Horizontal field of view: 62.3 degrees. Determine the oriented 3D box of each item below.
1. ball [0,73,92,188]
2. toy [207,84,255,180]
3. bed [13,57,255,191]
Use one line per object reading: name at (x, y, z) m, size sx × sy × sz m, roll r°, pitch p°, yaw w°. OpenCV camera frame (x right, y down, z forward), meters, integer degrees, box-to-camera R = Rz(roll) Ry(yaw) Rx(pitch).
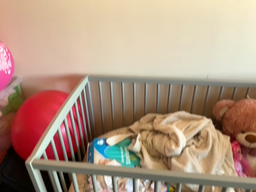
ball at (-0.470, 0.180, 1.240) m, size 0.360 × 0.470 × 0.430 m, roll 3°, pitch 32°, yaw 7°
toy at (0.700, 0.190, 1.110) m, size 0.430 × 0.400 × 0.290 m, roll 3°, pitch 32°, yaw 7°
bed at (0.350, 0.360, 1.100) m, size 1.310 × 0.870 × 0.710 m, roll 3°, pitch 32°, yaw 7°
